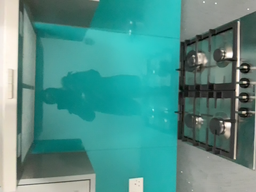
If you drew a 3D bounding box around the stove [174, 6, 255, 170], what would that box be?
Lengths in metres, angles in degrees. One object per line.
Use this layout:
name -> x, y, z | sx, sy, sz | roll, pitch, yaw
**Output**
stove -> 0.380, -0.030, 1.030 | 0.530, 0.040, 0.600 | 180, 91, -72
